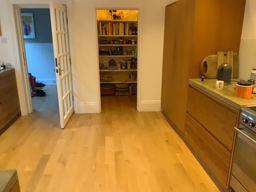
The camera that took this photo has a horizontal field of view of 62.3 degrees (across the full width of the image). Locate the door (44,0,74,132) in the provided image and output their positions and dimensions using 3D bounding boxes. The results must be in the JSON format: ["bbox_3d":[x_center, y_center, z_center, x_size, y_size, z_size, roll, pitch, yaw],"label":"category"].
[{"bbox_3d":[-1.080,-0.510,3.430,0.100,2.020,0.760,0,16,-1],"label":"door"}]
